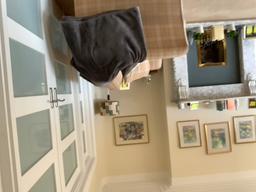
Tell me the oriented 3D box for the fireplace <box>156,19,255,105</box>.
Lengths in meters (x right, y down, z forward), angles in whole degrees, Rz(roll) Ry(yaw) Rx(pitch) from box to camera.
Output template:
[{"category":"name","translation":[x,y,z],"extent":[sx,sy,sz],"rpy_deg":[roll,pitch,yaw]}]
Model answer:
[{"category":"fireplace","translation":[1.380,-0.560,3.660],"extent":[1.610,1.240,0.660],"rpy_deg":[-5,-178,-3]}]
